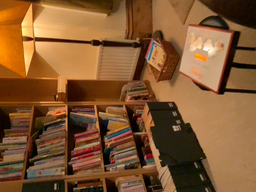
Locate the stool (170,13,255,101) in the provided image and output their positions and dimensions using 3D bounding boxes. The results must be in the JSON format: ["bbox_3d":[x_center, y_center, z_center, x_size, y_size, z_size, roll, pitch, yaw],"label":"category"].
[{"bbox_3d":[0.520,-0.190,1.000,0.370,0.470,0.280,-118,33,-57],"label":"stool"}]

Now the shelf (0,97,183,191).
[{"bbox_3d":[-0.610,0.430,2.020,0.860,2.060,0.310,-107,24,-43],"label":"shelf"}]
